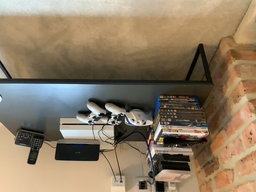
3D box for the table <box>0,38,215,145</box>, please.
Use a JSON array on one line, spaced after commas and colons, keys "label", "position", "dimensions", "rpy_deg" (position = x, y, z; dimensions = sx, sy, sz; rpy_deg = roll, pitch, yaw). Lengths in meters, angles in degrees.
[{"label": "table", "position": [-0.160, 0.030, 1.200], "dimensions": [1.010, 0.250, 0.660], "rpy_deg": [2, 146, -2]}]
